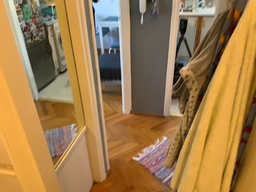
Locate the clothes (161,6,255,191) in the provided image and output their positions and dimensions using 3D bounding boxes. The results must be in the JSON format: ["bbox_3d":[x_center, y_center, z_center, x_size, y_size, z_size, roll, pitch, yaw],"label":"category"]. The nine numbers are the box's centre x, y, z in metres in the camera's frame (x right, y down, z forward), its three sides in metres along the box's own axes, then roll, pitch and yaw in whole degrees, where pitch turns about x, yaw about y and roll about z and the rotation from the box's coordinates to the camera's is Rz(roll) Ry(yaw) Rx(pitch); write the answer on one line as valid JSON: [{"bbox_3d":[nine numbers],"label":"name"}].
[{"bbox_3d":[0.300,0.320,1.010,0.220,1.340,0.380,2,31,6],"label":"clothes"}]
